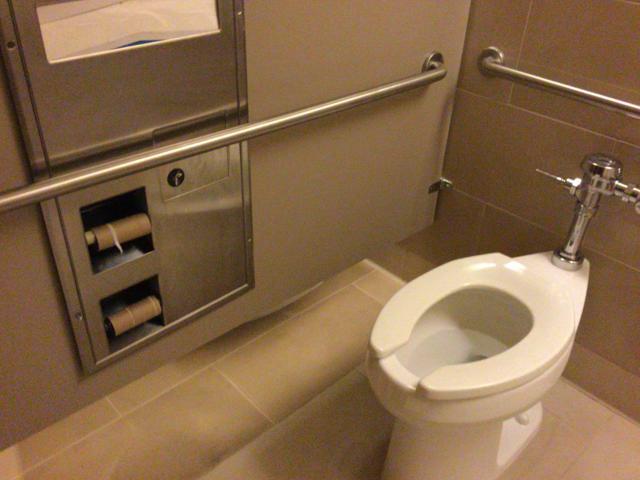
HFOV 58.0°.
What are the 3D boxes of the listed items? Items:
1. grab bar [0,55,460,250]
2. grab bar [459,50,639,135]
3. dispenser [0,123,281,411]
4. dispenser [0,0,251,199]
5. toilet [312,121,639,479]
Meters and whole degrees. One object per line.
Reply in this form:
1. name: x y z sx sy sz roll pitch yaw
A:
1. grab bar: -0.130 -0.220 1.170 1.250 0.070 0.090 -26 41 -35
2. grab bar: 0.640 -0.320 1.320 0.080 0.080 0.710 -26 41 -35
3. dispenser: -0.320 0.040 1.190 0.560 0.430 0.050 -26 41 -35
4. dispenser: -0.330 -0.300 0.950 0.490 0.340 0.030 -26 41 -35
5. toilet: 0.390 0.210 1.360 0.740 0.730 0.390 -26 41 -35
